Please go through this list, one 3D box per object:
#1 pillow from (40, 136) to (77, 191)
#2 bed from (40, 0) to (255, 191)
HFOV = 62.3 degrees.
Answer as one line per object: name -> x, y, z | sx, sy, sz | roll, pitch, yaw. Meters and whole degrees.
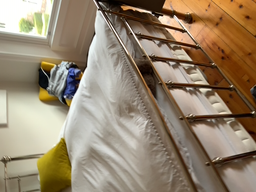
pillow -> -0.700, 0.690, 2.080 | 0.510, 0.200, 0.370 | -56, 45, 40
bed -> -0.040, 0.650, 1.720 | 2.140, 0.770, 1.660 | -58, 43, 38
